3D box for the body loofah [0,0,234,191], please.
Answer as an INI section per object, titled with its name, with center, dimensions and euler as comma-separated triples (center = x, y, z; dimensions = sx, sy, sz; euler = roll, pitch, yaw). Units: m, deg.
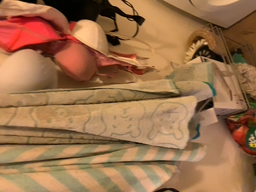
[body loofah]
center = -0.100, 0.000, 0.550
dimensions = 0.190, 0.880, 0.460
euler = -33, 62, 44
